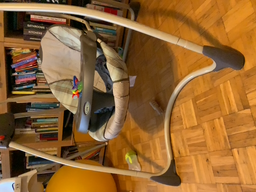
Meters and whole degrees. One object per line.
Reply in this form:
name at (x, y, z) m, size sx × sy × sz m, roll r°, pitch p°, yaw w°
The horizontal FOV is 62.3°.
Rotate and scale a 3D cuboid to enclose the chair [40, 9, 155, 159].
chair at (-0.220, -0.100, 1.040) m, size 0.590 × 0.370 × 0.460 m, roll -125°, pitch 41°, yaw -52°
